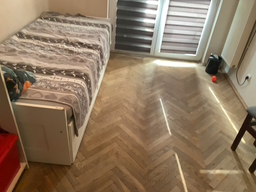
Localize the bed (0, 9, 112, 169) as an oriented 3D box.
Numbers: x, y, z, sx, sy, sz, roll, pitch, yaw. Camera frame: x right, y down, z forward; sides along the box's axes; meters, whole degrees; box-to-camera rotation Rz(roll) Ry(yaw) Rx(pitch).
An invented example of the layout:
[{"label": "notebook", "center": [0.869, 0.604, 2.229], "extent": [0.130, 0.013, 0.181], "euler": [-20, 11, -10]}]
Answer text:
[{"label": "bed", "center": [-0.770, -0.340, 2.310], "extent": [0.930, 0.570, 2.130], "euler": [6, 36, -1]}]

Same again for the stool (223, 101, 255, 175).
[{"label": "stool", "center": [1.130, 0.340, 1.770], "extent": [0.350, 0.490, 0.350], "euler": [-2, 37, -13]}]
